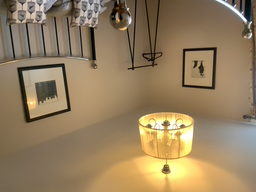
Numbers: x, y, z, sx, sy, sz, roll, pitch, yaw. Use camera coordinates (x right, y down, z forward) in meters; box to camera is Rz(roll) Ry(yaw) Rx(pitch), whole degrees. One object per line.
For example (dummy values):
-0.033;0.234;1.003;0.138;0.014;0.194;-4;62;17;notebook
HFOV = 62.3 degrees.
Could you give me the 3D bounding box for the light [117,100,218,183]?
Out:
0.390;0.420;2.030;0.580;0.670;0.510;-19;88;41;light
